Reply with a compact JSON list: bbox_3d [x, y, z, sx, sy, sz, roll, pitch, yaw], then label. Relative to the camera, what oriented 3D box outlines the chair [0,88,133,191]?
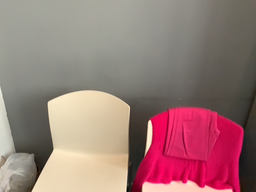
[{"bbox_3d":[-0.240,0.450,1.130,0.470,0.820,0.510,4,26,2],"label":"chair"}]

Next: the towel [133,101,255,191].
[{"bbox_3d":[0.320,0.260,1.090,0.570,0.380,0.230,3,26,1],"label":"towel"}]
